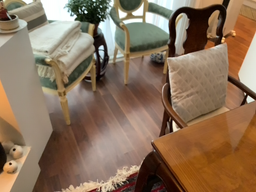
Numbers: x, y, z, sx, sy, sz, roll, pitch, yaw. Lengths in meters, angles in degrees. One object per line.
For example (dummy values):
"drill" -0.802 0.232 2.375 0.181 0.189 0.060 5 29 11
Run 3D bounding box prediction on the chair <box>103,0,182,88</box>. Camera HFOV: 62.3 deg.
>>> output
"chair" 0.110 -0.710 2.220 0.540 1.030 0.540 -19 45 -25

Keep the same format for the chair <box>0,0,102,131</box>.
"chair" -0.620 -0.360 1.750 0.560 1.020 0.650 14 41 13
